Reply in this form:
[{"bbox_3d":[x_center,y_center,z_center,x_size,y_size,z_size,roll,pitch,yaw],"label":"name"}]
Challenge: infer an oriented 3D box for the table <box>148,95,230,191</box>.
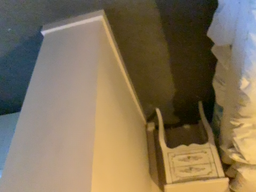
[{"bbox_3d":[0.470,0.410,1.760,0.470,0.650,0.410,-11,143,11],"label":"table"}]
